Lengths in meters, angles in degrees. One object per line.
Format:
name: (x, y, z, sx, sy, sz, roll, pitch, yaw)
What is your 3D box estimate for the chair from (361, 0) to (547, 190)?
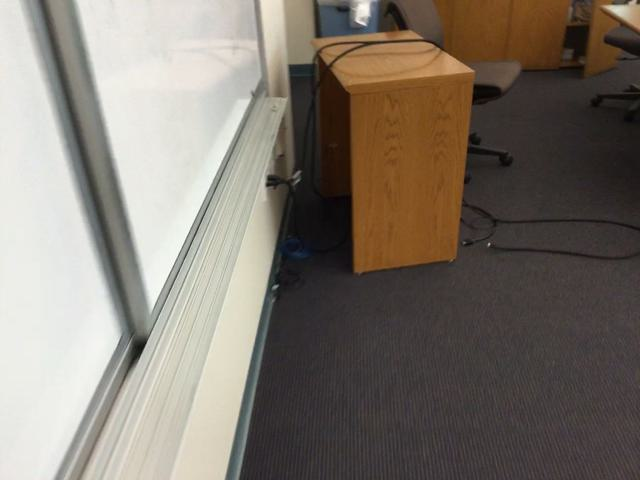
chair: (0.720, -0.860, 3.110, 0.760, 0.910, 0.610, 11, 36, 27)

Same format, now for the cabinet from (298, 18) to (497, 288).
cabinet: (0.300, -0.420, 2.560, 0.560, 0.840, 0.840, -11, 32, -7)
